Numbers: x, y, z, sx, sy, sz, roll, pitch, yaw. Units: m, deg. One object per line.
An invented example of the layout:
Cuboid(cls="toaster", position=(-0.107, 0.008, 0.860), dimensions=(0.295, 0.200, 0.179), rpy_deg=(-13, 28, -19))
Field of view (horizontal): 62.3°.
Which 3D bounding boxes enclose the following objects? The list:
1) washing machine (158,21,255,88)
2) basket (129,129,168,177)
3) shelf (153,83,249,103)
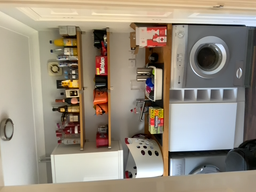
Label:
Cuboid(cls="washing machine", position=(0.820, -0.430, 2.320), dimensions=(0.590, 0.850, 0.620), rpy_deg=(-131, 40, -79))
Cuboid(cls="basket", position=(0.200, 0.600, 2.340), dimensions=(0.590, 0.310, 0.290), rpy_deg=(-131, 40, -79))
Cuboid(cls="shelf", position=(0.780, -0.050, 2.400), dimensions=(0.530, 0.880, 0.140), rpy_deg=(-131, 40, -79))
